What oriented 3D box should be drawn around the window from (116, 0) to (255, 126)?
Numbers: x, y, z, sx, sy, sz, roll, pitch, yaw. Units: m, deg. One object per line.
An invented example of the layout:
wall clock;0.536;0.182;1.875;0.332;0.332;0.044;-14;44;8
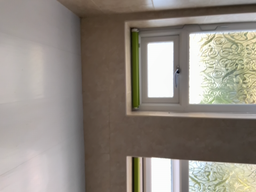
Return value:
window;0.490;-0.250;1.420;0.330;1.090;0.830;-14;-75;-78
